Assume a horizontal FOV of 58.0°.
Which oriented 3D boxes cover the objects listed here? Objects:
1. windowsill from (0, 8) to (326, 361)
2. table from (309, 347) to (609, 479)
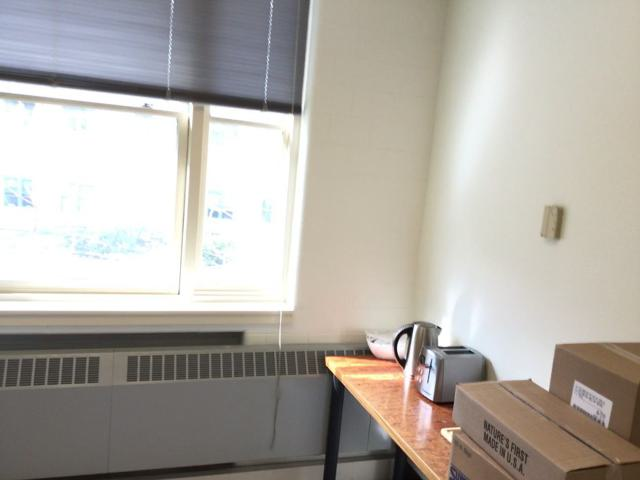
[{"bbox_3d":[-1.050,-0.200,2.370,2.010,1.290,0.420,3,9,-19],"label":"windowsill"},{"bbox_3d":[0.450,1.000,2.110,0.510,0.740,1.480,3,9,-19],"label":"table"}]
